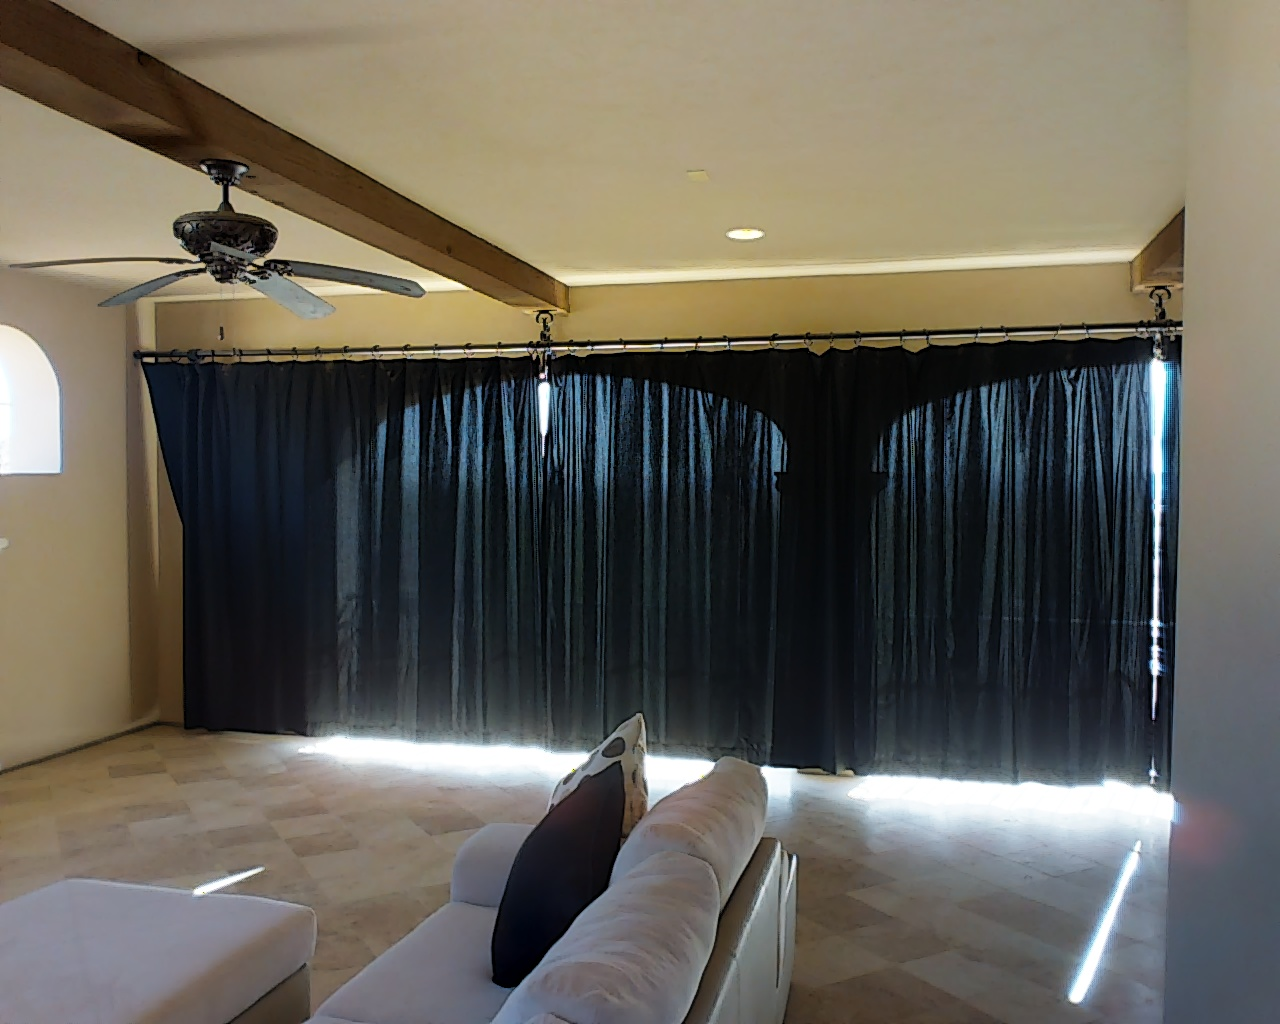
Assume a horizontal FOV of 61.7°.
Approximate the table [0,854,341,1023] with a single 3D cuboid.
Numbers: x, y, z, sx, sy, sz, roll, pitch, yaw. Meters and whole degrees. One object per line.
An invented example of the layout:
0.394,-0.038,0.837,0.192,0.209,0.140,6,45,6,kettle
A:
-1.480,1.320,2.850,0.970,0.420,0.950,0,2,14,table
